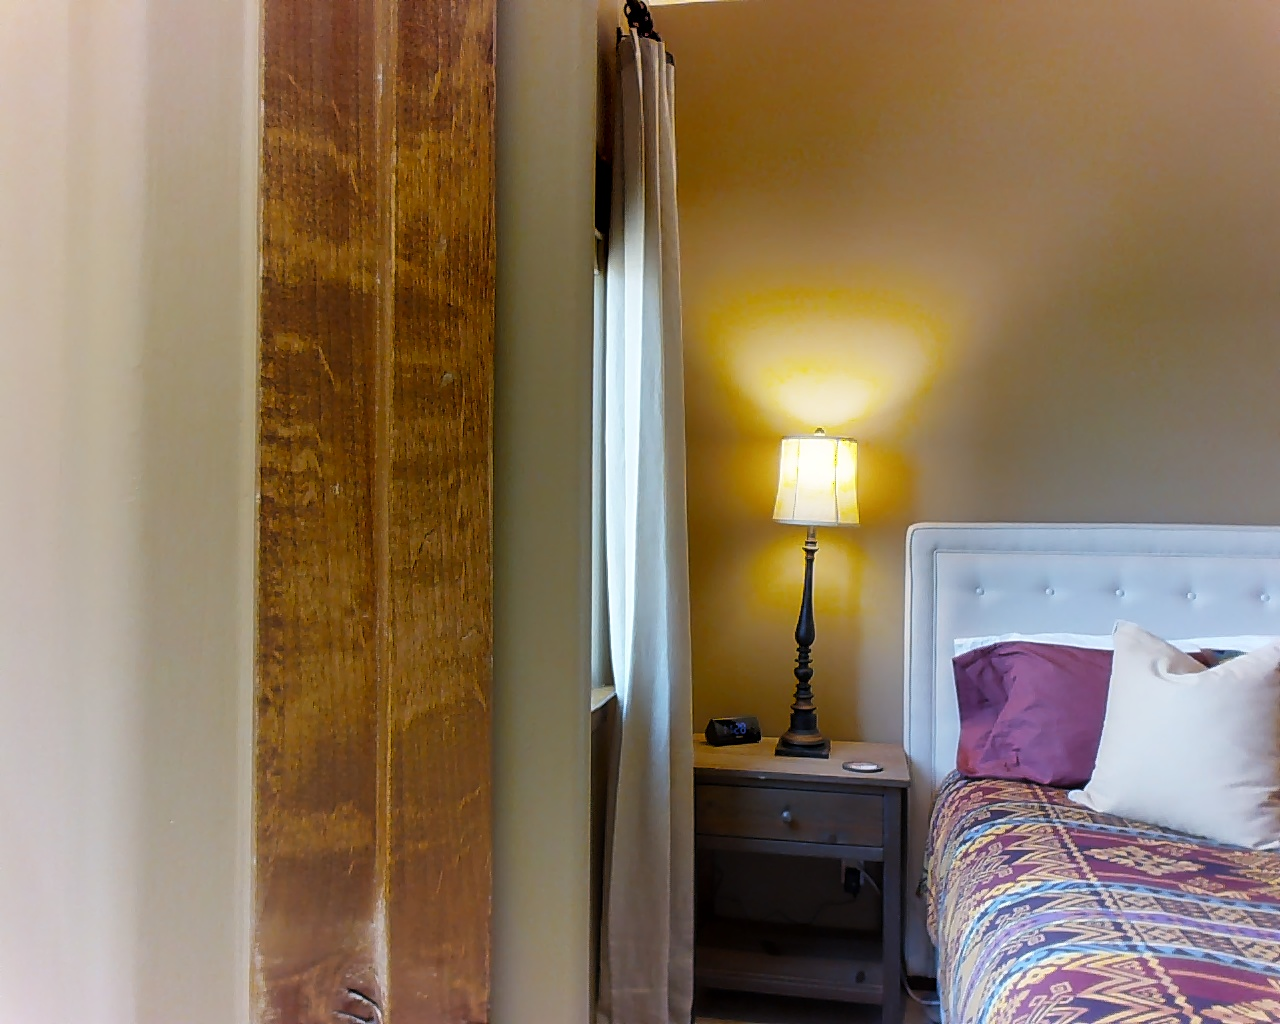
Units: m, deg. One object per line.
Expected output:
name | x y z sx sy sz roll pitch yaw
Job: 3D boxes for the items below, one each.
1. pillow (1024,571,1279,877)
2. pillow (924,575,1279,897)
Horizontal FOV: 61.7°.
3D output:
pillow | 1.300 0.480 2.520 0.540 0.500 0.300 22 4 43
pillow | 1.300 0.570 2.790 0.970 0.450 0.270 23 4 10
